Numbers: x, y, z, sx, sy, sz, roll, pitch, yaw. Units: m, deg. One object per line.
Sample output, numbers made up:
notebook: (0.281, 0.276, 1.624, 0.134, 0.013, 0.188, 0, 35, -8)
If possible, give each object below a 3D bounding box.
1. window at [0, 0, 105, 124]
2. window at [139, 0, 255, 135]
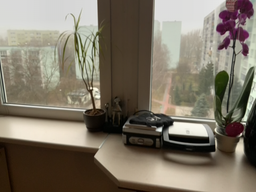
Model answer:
window: (-0.540, -0.520, 1.270, 0.780, 1.360, 0.110, 4, 15, 11)
window: (0.510, -0.460, 1.080, 0.870, 1.340, 0.090, 5, 15, 14)
